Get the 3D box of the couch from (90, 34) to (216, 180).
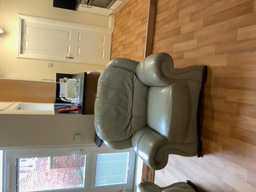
[{"bbox_3d":[0.170,0.080,2.340,1.060,0.920,1.170,-168,81,-69],"label":"couch"}]
